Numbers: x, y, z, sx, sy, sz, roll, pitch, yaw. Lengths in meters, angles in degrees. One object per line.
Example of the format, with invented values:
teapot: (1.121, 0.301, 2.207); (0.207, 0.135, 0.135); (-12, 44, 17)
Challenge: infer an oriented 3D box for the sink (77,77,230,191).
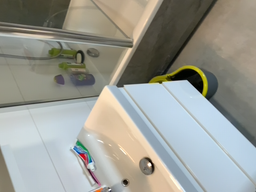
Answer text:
sink: (0.060, 0.280, 0.850); (0.630, 0.140, 0.380); (52, 127, 26)

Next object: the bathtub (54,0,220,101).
bathtub: (0.180, -0.810, 1.260); (0.700, 0.550, 1.620); (52, 127, 26)
